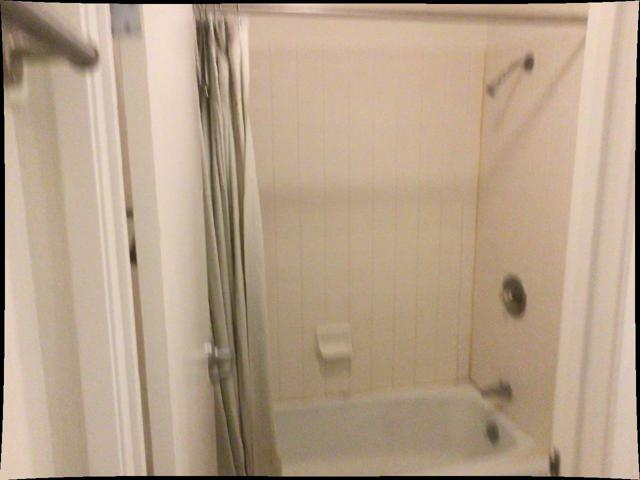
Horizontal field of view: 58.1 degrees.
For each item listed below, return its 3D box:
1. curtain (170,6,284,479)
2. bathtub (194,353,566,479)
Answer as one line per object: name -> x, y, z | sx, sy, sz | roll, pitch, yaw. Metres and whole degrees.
curtain -> -0.270, 0.150, 1.760 | 0.260, 1.582, 0.210 | -3, 12, -12
bathtub -> 0.170, 0.891, 2.320 | 1.288, 0.491, 0.740 | -3, 12, -12
